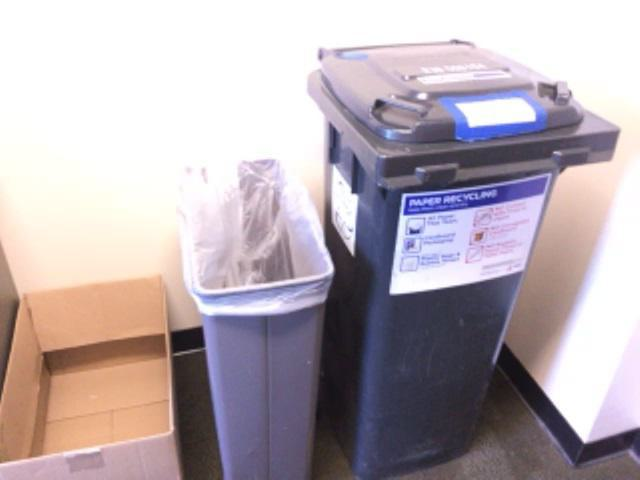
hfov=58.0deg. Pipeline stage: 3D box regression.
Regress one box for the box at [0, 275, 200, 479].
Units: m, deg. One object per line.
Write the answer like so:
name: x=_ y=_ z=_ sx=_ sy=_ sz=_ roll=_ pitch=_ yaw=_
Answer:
box: x=-0.670 y=0.460 z=1.490 sx=0.620 sy=0.380 sz=0.590 roll=-10 pitch=32 yaw=-17

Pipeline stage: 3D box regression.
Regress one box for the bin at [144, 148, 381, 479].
bin: x=-0.160 y=0.250 z=1.450 sx=0.390 sy=0.770 sz=0.540 roll=-10 pitch=32 yaw=-17

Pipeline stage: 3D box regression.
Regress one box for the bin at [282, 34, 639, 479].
bin: x=0.230 y=0.120 z=1.390 sx=0.490 sy=1.060 sz=0.510 roll=-10 pitch=32 yaw=-17
